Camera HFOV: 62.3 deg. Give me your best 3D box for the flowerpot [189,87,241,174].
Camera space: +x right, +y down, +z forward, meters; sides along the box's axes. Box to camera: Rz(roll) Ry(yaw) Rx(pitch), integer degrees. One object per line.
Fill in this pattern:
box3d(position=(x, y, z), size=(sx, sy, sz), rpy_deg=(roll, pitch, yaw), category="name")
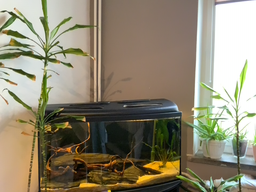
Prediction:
box3d(position=(0.770, 0.270, 1.910), size=(0.370, 0.690, 0.340), rpy_deg=(2, 4, 21), category="flowerpot")
